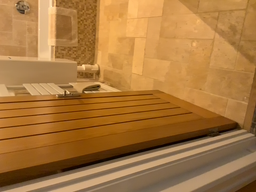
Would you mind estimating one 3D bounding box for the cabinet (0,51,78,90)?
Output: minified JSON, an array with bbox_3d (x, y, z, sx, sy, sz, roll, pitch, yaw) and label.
[{"bbox_3d":[-1.310,-0.290,2.300,0.430,1.410,0.340,25,114,51],"label":"cabinet"}]
